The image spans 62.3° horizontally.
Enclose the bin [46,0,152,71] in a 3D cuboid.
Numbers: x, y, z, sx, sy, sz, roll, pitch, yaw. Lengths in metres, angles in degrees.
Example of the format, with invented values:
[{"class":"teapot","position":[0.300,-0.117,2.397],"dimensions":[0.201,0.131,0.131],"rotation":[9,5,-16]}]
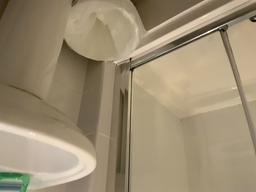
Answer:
[{"class":"bin","position":[-0.100,-0.330,0.850],"dimensions":[0.280,0.280,0.270],"rotation":[-21,142,33]}]
